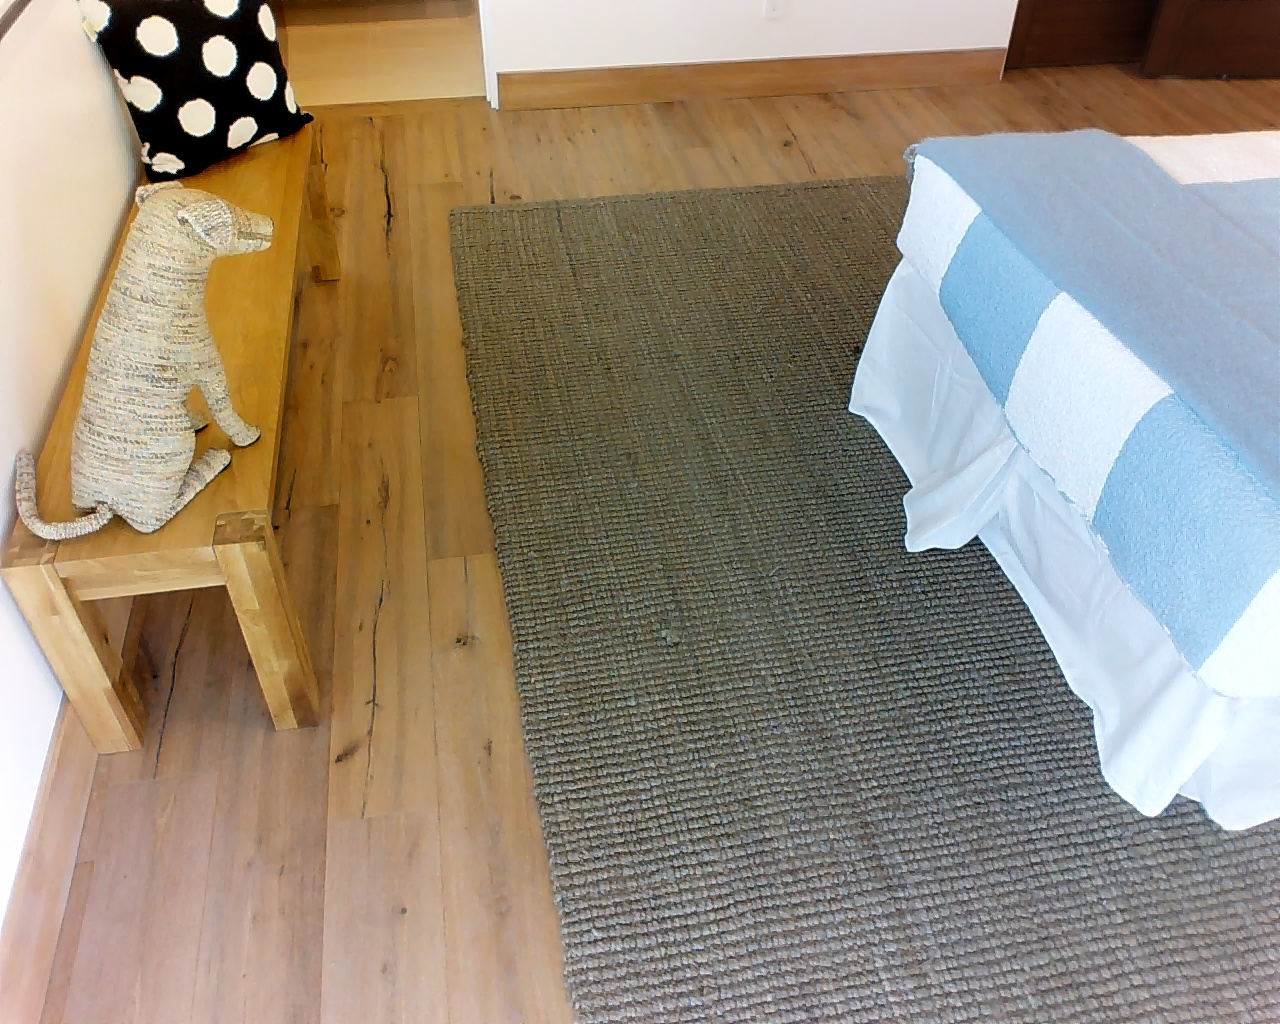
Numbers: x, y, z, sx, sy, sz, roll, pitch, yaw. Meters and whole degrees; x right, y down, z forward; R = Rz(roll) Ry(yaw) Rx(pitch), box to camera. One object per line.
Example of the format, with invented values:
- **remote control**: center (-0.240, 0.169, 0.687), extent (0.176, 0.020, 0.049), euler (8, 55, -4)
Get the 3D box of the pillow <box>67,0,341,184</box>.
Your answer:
- **pillow**: center (-1.050, -1.120, 2.590), extent (0.460, 0.440, 0.340), euler (-29, 50, -29)
